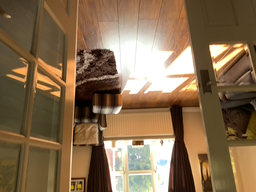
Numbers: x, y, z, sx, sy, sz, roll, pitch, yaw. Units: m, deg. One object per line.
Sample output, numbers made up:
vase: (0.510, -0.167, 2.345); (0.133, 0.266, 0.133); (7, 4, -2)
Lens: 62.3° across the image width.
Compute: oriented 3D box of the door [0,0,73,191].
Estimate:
door: (-0.510, 0.020, 0.760); (0.150, 2.120, 1.040); (-4, 161, 7)
